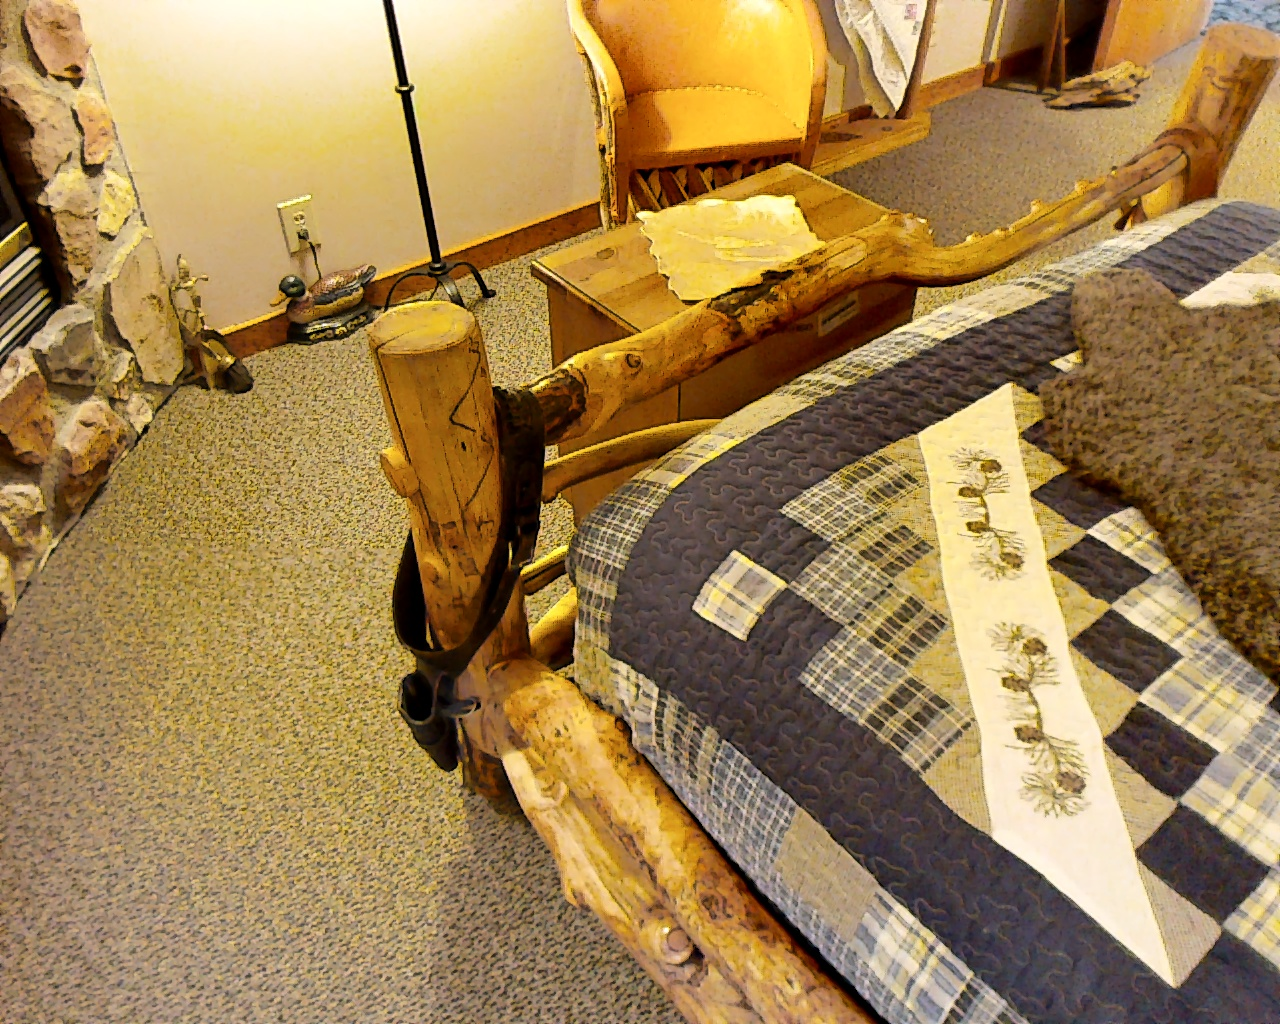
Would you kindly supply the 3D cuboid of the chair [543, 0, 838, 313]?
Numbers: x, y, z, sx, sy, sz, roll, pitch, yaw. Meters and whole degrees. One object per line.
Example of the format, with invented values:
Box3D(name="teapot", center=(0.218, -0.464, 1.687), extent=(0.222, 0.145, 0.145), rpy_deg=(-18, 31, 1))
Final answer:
Box3D(name="chair", center=(0.110, -1.040, 2.970), extent=(0.650, 0.730, 0.530), rpy_deg=(-8, 43, -8))
